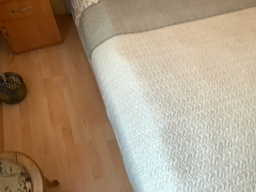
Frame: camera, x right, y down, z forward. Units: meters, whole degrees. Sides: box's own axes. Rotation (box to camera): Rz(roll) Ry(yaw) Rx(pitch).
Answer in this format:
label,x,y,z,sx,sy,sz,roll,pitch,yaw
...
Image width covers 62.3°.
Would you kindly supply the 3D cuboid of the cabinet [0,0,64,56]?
label,x,y,z,sx,sy,sz,roll,pitch,yaw
cabinet,-0.830,-0.700,1.710,0.440,0.480,0.450,-15,59,-11
